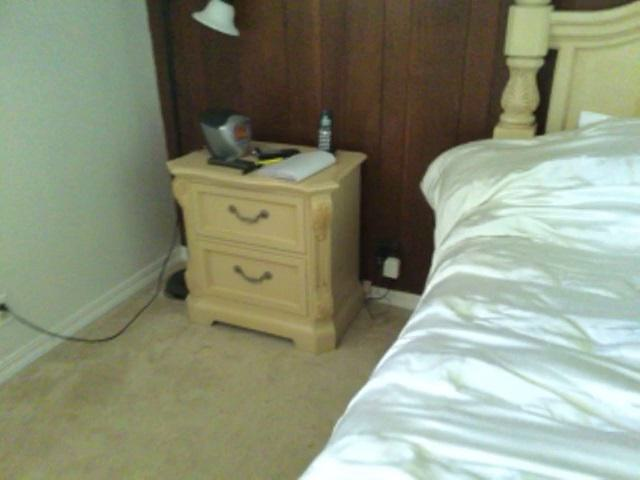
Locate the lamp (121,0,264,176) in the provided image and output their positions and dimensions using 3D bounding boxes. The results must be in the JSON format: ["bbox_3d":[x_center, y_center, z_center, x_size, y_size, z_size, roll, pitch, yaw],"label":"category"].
[{"bbox_3d":[-0.530,-0.870,2.330,0.410,1.160,0.270,8,27,25],"label":"lamp"}]
